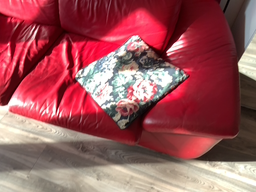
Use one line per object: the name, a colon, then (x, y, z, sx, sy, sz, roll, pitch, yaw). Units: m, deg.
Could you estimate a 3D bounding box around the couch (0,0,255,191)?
couch: (-0.500, -0.520, 1.460, 2.440, 0.840, 1.320, 16, 53, 9)
